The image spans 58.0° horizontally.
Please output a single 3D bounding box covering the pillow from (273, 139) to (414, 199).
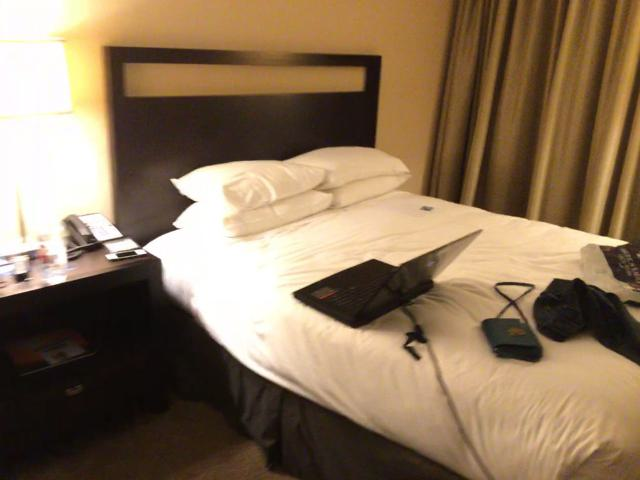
[{"bbox_3d":[0.130,-0.390,3.040,0.630,0.220,0.400,-12,22,-43],"label":"pillow"}]

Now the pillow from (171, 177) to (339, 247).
[{"bbox_3d":[-0.290,-0.150,2.680,0.660,0.170,0.400,-12,22,-43],"label":"pillow"}]

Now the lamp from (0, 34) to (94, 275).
[{"bbox_3d":[-1.130,-0.310,2.040,0.480,0.780,0.360,-12,22,-43],"label":"lamp"}]

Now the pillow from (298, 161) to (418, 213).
[{"bbox_3d":[0.210,-0.290,3.030,0.620,0.180,0.270,-12,22,-43],"label":"pillow"}]

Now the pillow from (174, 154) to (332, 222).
[{"bbox_3d":[-0.300,-0.260,2.670,0.620,0.200,0.370,-12,22,-43],"label":"pillow"}]
